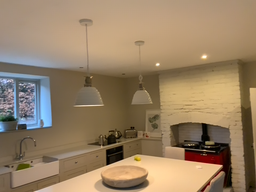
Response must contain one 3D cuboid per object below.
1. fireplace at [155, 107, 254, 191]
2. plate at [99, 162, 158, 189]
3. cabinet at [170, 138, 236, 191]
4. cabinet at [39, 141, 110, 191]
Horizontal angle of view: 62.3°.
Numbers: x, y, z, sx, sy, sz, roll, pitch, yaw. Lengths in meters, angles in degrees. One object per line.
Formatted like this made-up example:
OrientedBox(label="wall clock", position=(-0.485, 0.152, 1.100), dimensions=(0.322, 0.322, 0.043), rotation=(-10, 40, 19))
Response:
OrientedBox(label="fireplace", position=(1.580, 1.050, 4.550), dimensions=(1.730, 1.540, 0.840), rotation=(-5, -3, 40))
OrientedBox(label="plate", position=(0.010, 0.840, 2.300), dimensions=(0.470, 0.090, 0.450), rotation=(-4, -3, 37))
OrientedBox(label="cabinet", position=(1.550, 1.390, 4.440), dimensions=(1.100, 0.820, 0.690), rotation=(-4, -3, 39))
OrientedBox(label="cabinet", position=(-1.020, 1.470, 4.210), dimensions=(0.650, 0.900, 1.180), rotation=(-4, -3, 38))
